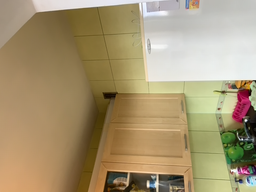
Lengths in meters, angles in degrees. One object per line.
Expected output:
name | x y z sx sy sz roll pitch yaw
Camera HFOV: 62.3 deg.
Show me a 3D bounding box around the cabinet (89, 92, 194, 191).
cabinet | 0.150 0.490 1.920 1.180 0.740 0.320 -81 -13 -45
